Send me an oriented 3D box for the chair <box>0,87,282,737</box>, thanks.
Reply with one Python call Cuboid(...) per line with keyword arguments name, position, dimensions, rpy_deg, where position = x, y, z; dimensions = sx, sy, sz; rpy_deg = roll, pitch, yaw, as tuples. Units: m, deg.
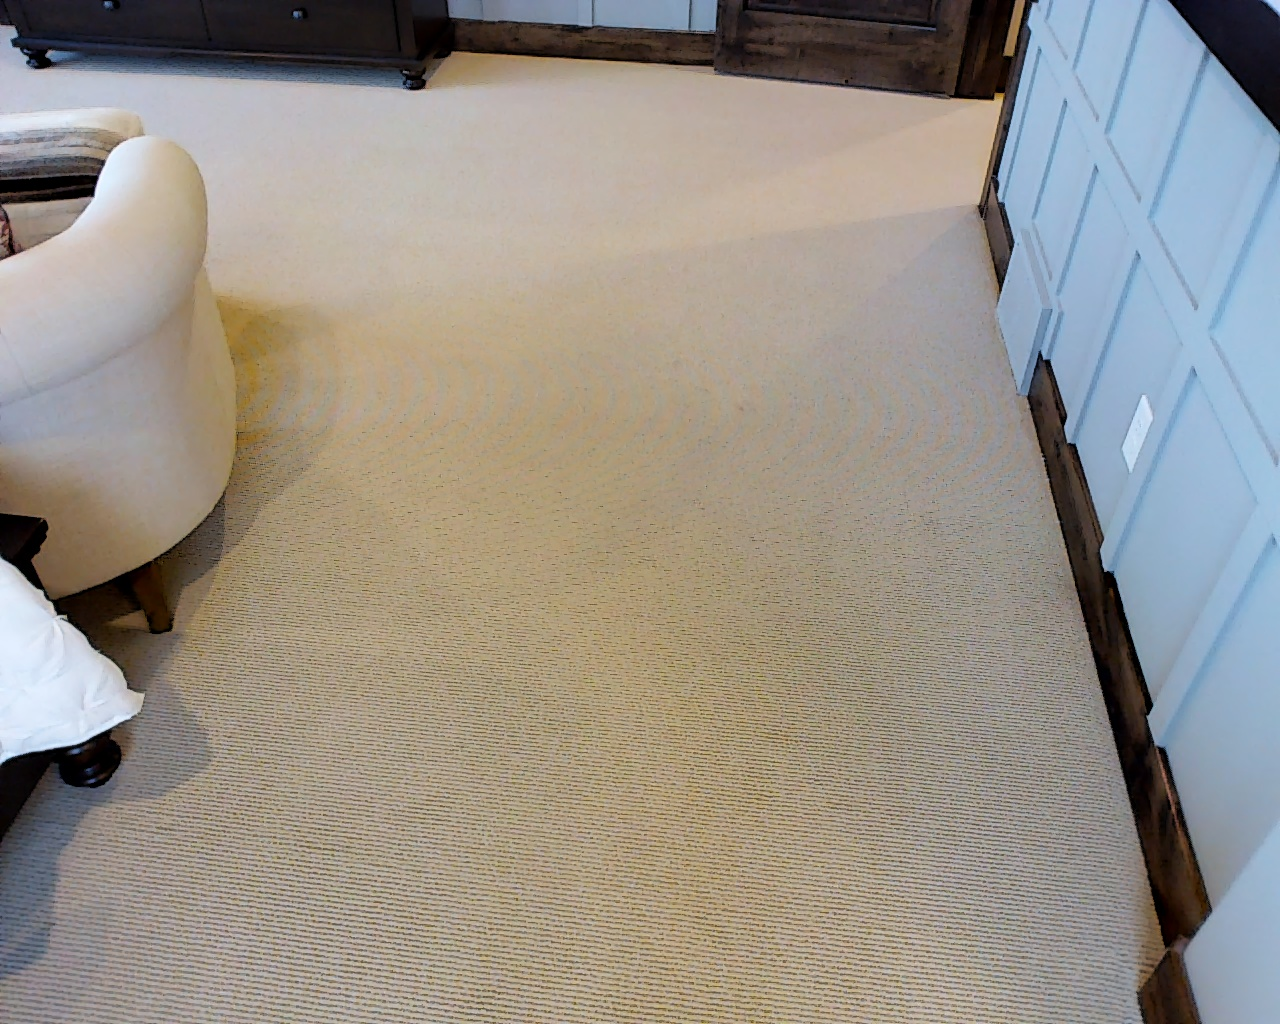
Cuboid(name="chair", position=(-1.120, -0.170, 1.770), dimensions=(0.870, 0.720, 0.810), rpy_deg=(-8, 42, -11))
